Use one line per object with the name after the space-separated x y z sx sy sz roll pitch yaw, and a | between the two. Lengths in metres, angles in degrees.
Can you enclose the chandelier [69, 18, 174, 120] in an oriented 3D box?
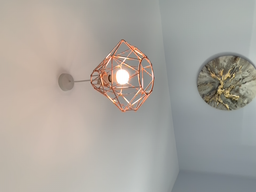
0.010 -0.170 1.250 0.510 0.360 0.460 -31 116 -60 | chandelier
